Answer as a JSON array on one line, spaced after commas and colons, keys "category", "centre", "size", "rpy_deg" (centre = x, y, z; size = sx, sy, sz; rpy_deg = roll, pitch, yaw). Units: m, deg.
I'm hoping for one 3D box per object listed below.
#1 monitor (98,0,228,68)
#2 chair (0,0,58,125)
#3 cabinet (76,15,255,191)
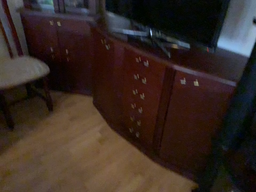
[{"category": "monitor", "centre": [0.110, -0.640, 1.290], "size": [0.050, 0.590, 1.030], "rpy_deg": [-22, 42, -33]}, {"category": "chair", "centre": [-1.010, -0.340, 1.840], "size": [0.430, 0.960, 0.550], "rpy_deg": [-27, 45, -37]}, {"category": "cabinet", "centre": [0.180, -0.050, 1.660], "size": [0.470, 0.800, 1.240], "rpy_deg": [-27, 45, -37]}]
